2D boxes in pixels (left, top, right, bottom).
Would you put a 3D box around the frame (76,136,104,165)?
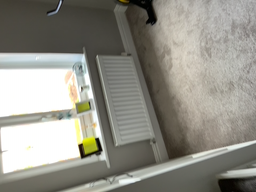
[{"bbox_3d":[-0.380,0.540,2.100,0.140,0.190,0.200,-45,64,56],"label":"frame"}]
